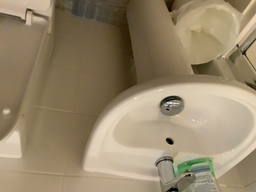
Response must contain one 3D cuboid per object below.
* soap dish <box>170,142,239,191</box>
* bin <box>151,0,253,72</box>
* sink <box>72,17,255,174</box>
[{"bbox_3d":[0.210,0.250,0.580,0.120,0.210,0.100,9,136,-15],"label":"soap dish"},{"bbox_3d":[0.300,-0.330,0.970,0.270,0.280,0.280,10,136,-16],"label":"bin"},{"bbox_3d":[0.120,0.050,0.550,0.460,0.140,0.350,10,136,-16],"label":"sink"}]
